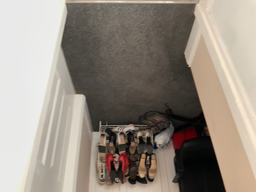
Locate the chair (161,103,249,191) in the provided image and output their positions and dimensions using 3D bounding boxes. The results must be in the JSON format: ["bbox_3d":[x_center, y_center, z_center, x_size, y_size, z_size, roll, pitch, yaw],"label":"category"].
[{"bbox_3d":[0.720,0.710,2.140,0.550,1.180,0.500,-2,145,-2],"label":"chair"}]
